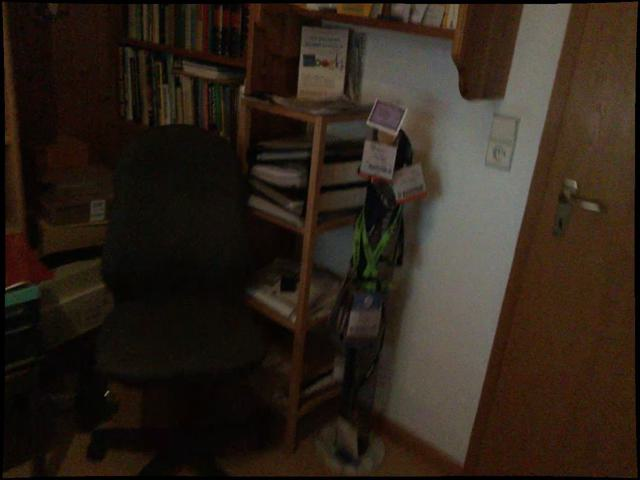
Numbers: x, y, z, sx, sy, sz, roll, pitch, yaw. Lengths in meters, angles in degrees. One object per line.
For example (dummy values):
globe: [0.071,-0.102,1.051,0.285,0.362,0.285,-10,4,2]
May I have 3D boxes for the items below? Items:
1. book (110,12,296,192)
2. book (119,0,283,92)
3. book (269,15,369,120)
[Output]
book: [-0.499,-0.571,2.300,0.790,0.420,0.250,34,34,30]
book: [-0.480,-0.851,2.180,0.760,0.320,0.140,34,34,30]
book: [-0.010,-0.581,1.950,0.160,0.260,0.210,-19,55,-45]
